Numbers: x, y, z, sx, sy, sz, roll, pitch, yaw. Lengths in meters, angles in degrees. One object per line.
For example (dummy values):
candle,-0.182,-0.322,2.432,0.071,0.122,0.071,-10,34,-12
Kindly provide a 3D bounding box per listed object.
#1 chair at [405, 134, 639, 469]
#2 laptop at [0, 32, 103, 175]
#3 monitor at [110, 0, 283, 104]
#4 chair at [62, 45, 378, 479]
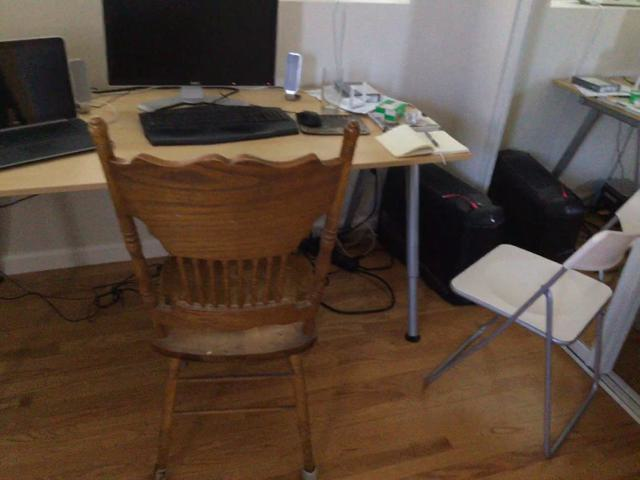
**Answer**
chair,0.700,0.150,1.830,0.540,0.750,0.550,27,36,35
laptop,-0.880,-0.390,1.600,0.380,0.260,0.450,-16,35,-32
monitor,-0.410,-0.690,1.960,0.550,0.410,0.120,-6,31,-18
chair,-0.250,0.100,1.580,0.550,1.070,0.700,-1,29,-9
